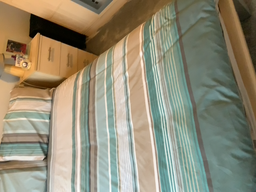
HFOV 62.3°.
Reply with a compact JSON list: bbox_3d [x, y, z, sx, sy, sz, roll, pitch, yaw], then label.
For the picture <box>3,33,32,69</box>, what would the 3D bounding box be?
[{"bbox_3d":[-1.150,-0.460,2.210,0.180,0.180,0.270,-19,65,38],"label":"picture"}]
